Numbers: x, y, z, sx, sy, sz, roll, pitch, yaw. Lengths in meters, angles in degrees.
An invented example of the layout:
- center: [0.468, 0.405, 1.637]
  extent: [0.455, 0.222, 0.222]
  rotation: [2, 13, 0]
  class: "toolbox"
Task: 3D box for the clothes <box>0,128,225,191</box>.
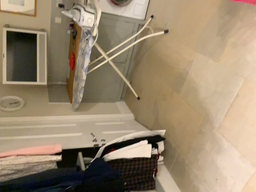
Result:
- center: [-0.250, 0.860, 1.520]
  extent: [1.170, 1.870, 0.560]
  rotation: [-127, 44, -52]
  class: "clothes"
